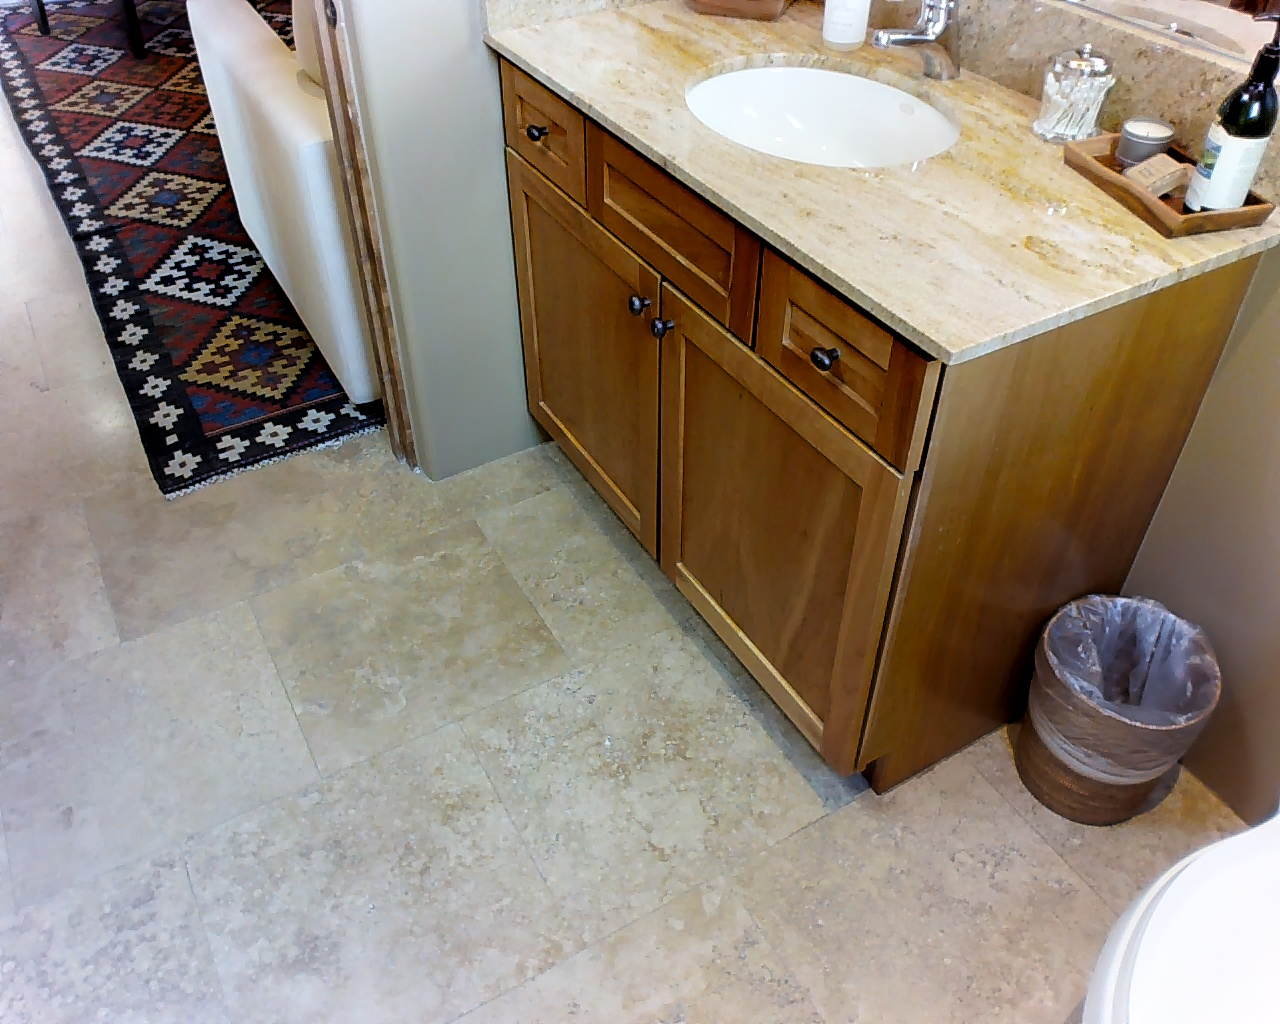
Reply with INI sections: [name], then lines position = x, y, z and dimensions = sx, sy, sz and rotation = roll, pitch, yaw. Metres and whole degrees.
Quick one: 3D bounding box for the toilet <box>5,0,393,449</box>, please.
[toilet]
position = -1.020, -0.720, 2.520
dimensions = 0.530, 0.750, 0.730
rotation = -21, 45, -22
